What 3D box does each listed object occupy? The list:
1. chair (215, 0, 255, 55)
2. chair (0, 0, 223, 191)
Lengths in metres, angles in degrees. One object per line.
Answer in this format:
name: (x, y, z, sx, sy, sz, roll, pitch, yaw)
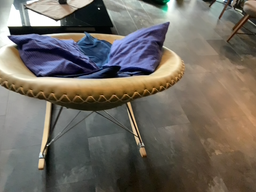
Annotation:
chair: (1.610, -1.030, 2.690, 0.590, 0.730, 0.500, 28, 48, 16)
chair: (-0.240, -0.070, 1.400, 1.000, 0.820, 0.980, -3, 47, -15)
